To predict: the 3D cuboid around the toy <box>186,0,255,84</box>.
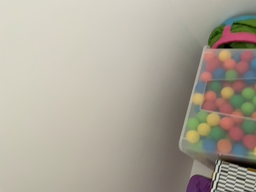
[{"bbox_3d":[0.710,-0.330,1.240,0.430,0.520,0.350,37,-114,-41],"label":"toy"}]
